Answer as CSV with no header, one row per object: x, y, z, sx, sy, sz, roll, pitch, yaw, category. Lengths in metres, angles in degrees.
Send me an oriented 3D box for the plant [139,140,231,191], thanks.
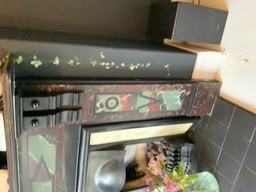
0.350,0.560,1.390,0.280,0.420,0.400,44,130,54,plant
